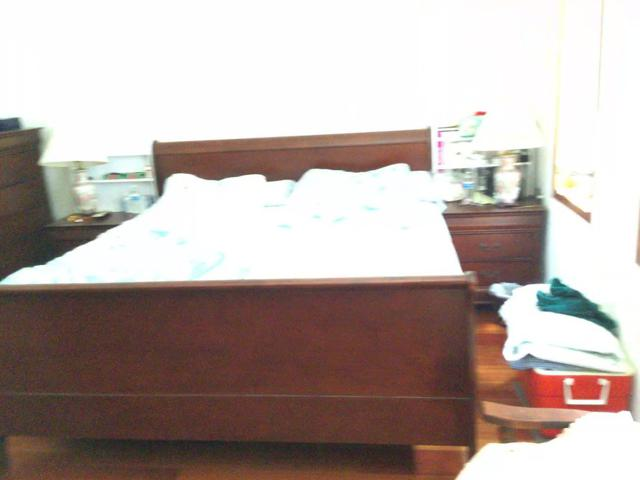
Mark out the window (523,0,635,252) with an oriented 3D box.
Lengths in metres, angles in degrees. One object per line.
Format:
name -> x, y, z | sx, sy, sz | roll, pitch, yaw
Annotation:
window -> 1.220, -0.580, 2.790 | 0.310, 1.100, 0.670 | -5, 17, 11

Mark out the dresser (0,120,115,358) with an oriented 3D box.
dresser -> -2.000, -0.040, 3.920 | 0.510, 1.380, 0.890 | -5, 17, 10

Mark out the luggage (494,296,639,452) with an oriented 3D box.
luggage -> 1.030, 0.550, 2.480 | 0.450, 0.370, 0.620 | -5, 17, 11

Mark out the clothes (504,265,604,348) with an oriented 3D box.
clothes -> 1.000, 0.280, 2.510 | 0.330, 0.210, 0.360 | -5, 17, 11

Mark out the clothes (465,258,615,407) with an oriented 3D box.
clothes -> 0.910, 0.370, 2.510 | 0.470, 0.330, 0.710 | -5, 17, 11
